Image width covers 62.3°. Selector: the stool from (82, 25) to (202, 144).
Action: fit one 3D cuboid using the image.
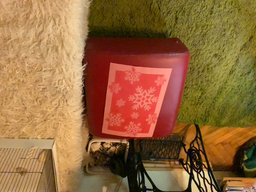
[{"bbox_3d":[0.030,-0.060,1.250,0.540,0.370,0.570,1,124,-7],"label":"stool"}]
